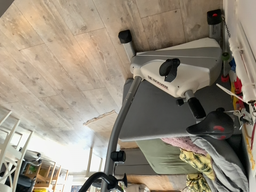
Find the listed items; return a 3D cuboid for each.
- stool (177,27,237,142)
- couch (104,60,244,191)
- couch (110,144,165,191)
[{"bbox_3d":[0.500,-0.110,1.430,0.220,0.790,0.200,-18,136,27],"label":"stool"},{"bbox_3d":[0.660,0.800,2.510,0.920,0.850,2.320,-9,140,17],"label":"couch"},{"bbox_3d":[0.200,1.260,3.380,0.590,0.590,0.910,-9,140,17],"label":"couch"}]
